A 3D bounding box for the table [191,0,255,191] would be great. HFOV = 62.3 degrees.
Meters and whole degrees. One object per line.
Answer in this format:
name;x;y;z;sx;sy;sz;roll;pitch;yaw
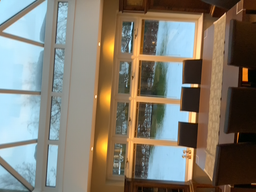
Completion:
table;1.310;0.030;2.400;0.990;0.760;1.810;-82;-4;-89
